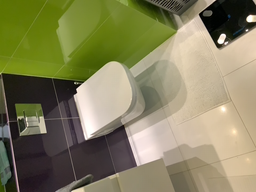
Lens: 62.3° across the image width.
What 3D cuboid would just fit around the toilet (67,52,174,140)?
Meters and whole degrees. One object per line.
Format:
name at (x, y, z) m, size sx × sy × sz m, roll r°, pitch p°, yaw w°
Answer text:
toilet at (-0.070, 0.030, 1.510) m, size 0.570 × 0.410 × 0.350 m, roll -32°, pitch 68°, yaw 36°
